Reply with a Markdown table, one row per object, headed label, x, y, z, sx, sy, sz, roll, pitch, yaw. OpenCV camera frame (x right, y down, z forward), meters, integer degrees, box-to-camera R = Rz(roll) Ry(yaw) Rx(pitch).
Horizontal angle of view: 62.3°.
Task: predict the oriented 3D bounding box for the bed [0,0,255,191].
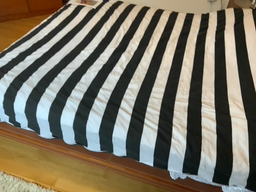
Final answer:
| label | x | y | z | sx | sy | sz | roll | pitch | yaw |
| --- | --- | --- | --- | --- | --- | --- | --- | --- | --- |
| bed | 0.160 | -0.230 | 1.790 | 2.240 | 0.480 | 1.860 | 14 | 45 | 9 |
